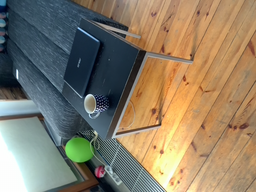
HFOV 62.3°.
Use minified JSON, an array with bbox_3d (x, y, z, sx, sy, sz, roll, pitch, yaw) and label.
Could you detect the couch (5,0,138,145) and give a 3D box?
[{"bbox_3d":[-0.650,-0.390,1.960,1.300,0.410,0.990,38,117,36],"label":"couch"}]
